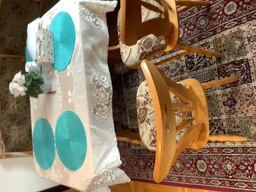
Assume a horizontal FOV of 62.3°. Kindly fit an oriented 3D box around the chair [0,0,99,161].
[{"bbox_3d":[-0.910,-0.280,2.270,0.590,0.810,1.700,-13,82,43],"label":"chair"}]
